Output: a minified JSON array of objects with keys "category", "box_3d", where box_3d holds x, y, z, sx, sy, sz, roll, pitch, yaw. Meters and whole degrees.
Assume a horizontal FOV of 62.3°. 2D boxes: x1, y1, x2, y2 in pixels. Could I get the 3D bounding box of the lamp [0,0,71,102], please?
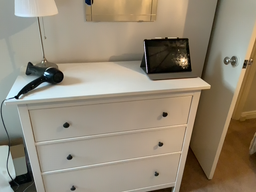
[{"category":"lamp","box_3d":[-0.530,-0.340,1.180,0.290,0.630,0.310,-13,32,-27]}]
